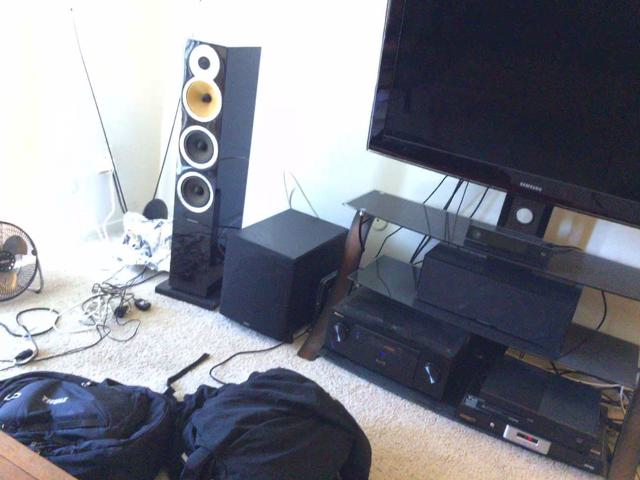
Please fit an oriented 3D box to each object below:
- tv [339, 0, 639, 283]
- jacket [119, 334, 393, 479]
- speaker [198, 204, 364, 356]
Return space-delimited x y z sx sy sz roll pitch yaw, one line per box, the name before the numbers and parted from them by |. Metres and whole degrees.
tv | 0.690 -0.400 1.720 1.180 0.860 0.240 16 17 27
jacket | -0.150 0.500 1.460 0.490 0.250 0.460 16 17 27
speaker | -0.140 0.120 2.190 0.410 0.390 0.440 16 17 27
